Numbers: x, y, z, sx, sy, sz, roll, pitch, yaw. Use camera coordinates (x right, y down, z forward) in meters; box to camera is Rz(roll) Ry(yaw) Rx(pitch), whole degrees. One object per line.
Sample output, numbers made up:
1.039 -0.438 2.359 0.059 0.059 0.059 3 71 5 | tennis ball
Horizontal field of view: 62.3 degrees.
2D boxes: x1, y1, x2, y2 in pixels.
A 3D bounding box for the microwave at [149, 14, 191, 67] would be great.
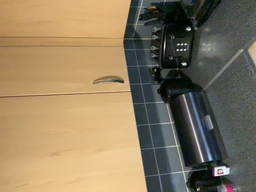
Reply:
0.270 -0.370 1.440 0.270 0.180 0.310 -133 41 -73 | microwave
